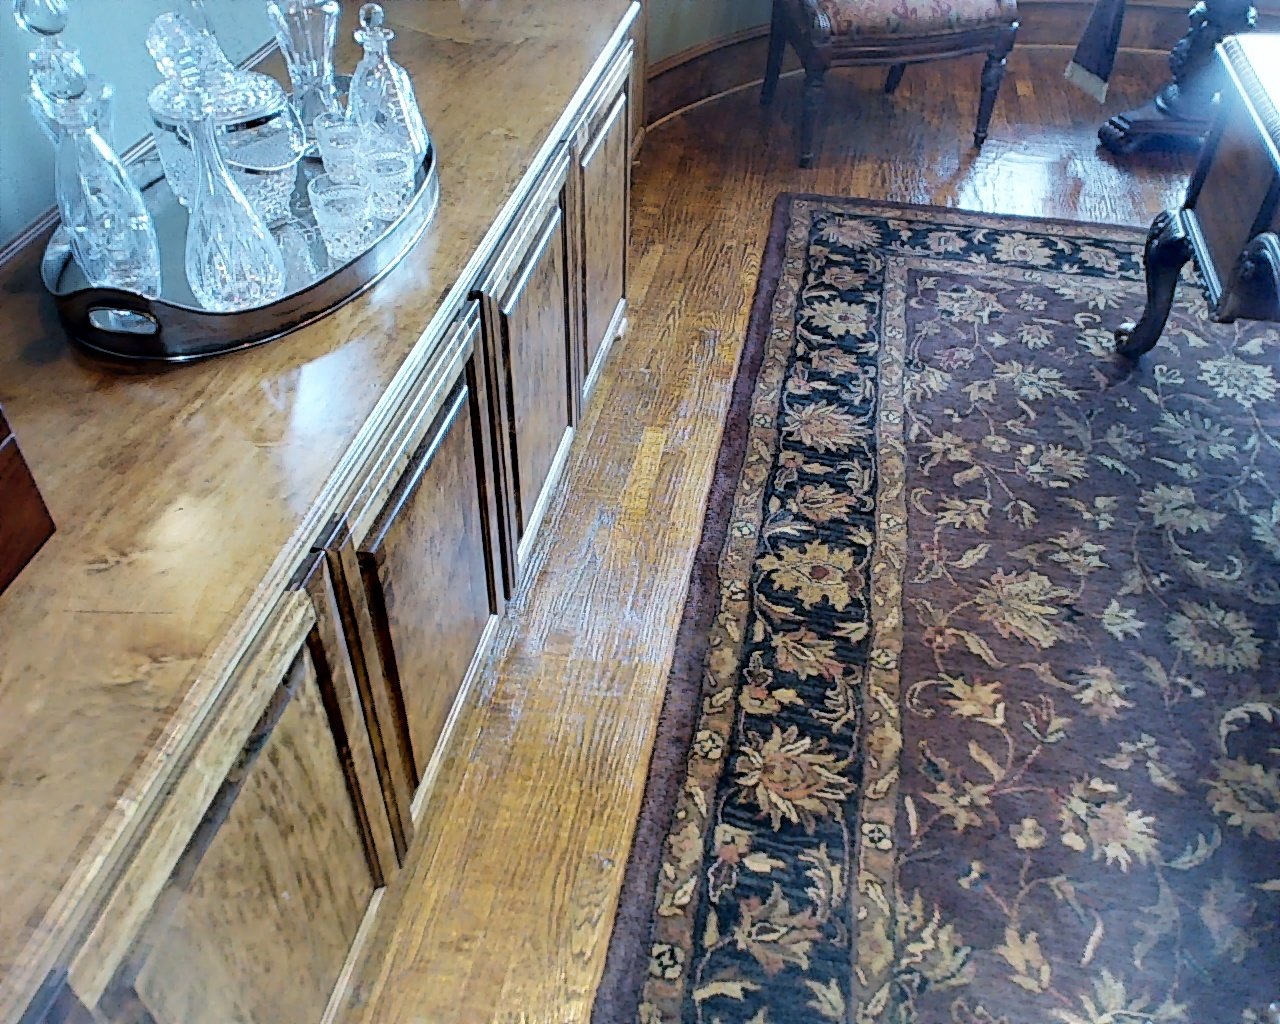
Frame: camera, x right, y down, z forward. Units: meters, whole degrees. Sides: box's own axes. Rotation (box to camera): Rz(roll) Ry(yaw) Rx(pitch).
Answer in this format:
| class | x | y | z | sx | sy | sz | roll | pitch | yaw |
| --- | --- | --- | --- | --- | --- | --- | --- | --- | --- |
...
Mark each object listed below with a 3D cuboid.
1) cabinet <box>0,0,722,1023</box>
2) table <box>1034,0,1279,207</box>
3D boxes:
| class | x | y | z | sx | sy | sz | roll | pitch | yaw |
| --- | --- | --- | --- | --- | --- | --- | --- | --- | --- |
| cabinet | -0.520 | -0.120 | 1.830 | 0.660 | 0.850 | 4.430 | 9 | 43 | 8 |
| table | 1.940 | -1.580 | 3.590 | 0.710 | 0.700 | 0.730 | -23 | 48 | -24 |
